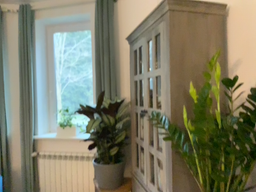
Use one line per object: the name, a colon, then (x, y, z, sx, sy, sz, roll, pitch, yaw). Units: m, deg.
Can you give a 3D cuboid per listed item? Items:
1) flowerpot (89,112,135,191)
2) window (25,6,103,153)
flowerpot: (-0.200, 0.620, 2.440, 0.420, 0.810, 0.440, -1, 1, -20)
window: (-0.900, -0.210, 3.010, 1.010, 1.920, 0.290, -1, 1, 11)
